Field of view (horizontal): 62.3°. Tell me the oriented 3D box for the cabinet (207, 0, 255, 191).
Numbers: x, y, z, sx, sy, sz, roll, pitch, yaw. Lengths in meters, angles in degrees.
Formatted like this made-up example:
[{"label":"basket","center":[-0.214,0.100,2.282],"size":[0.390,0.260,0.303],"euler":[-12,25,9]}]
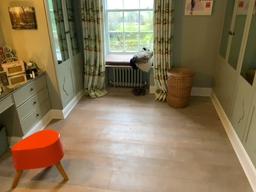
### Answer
[{"label":"cabinet","center":[1.480,-0.610,1.780],"size":[0.690,2.720,3.180],"euler":[2,25,9]}]
